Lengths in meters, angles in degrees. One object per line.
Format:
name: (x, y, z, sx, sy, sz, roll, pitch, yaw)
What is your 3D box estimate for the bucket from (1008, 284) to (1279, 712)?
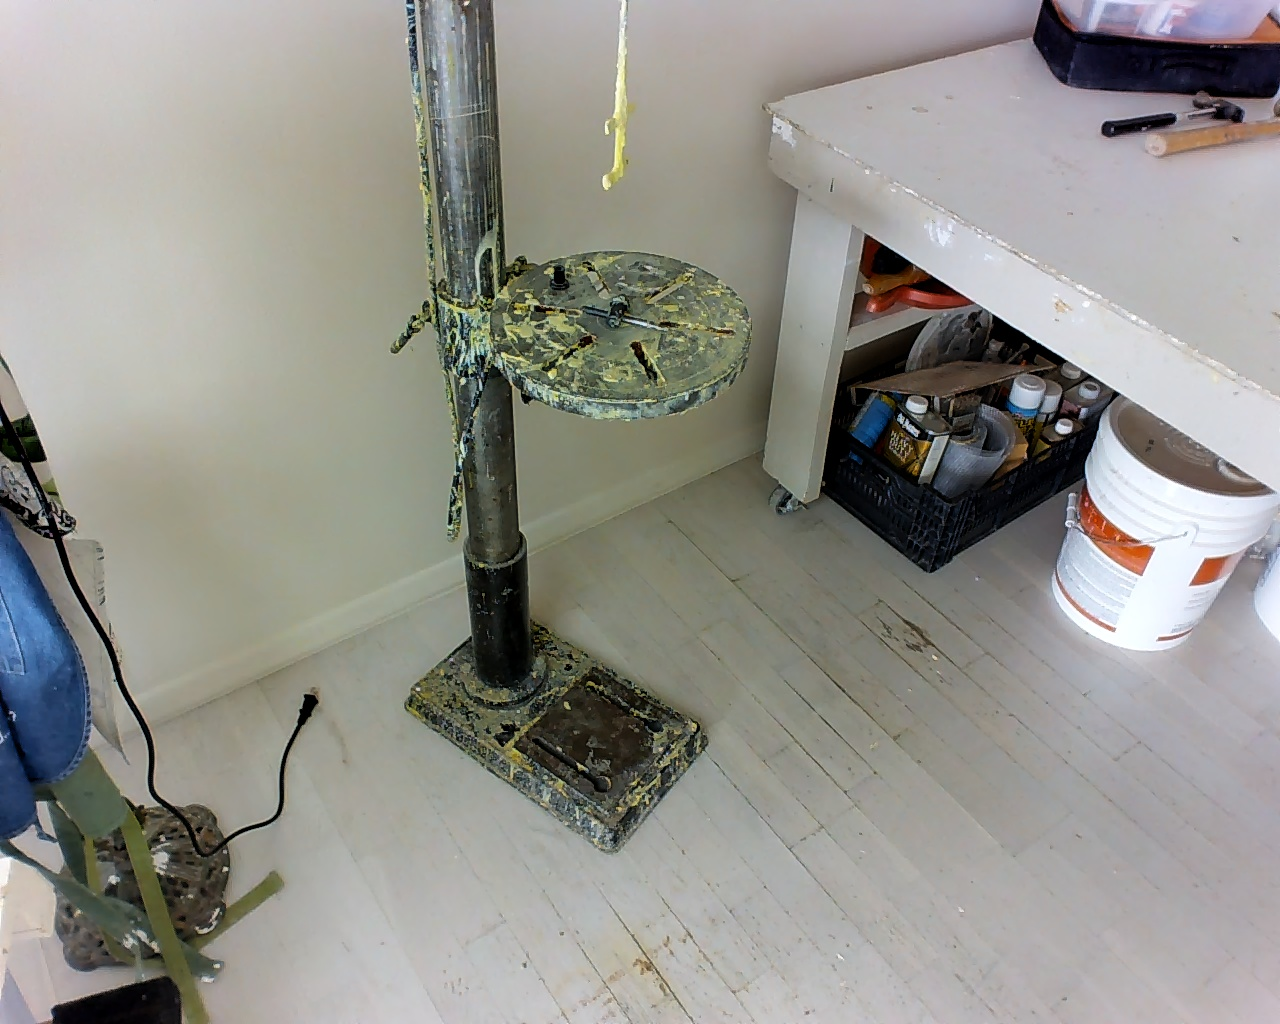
bucket: (1.020, -0.050, 1.960, 0.400, 0.410, 0.590, 25, 47, 22)

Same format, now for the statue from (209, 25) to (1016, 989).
statue: (-0.080, -0.010, 1.430, 0.510, 0.930, 0.730, -26, 50, -27)
